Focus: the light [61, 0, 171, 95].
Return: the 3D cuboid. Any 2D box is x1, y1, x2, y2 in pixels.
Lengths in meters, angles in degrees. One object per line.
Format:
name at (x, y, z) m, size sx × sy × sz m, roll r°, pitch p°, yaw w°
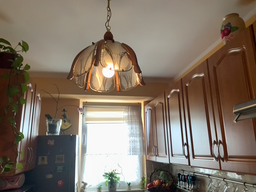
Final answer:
light at (-0.100, -0.380, 1.160) m, size 0.450 × 0.410 × 0.630 m, roll -5°, pitch -104°, yaw -10°
